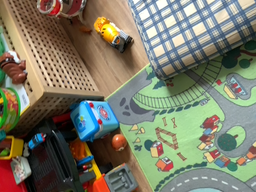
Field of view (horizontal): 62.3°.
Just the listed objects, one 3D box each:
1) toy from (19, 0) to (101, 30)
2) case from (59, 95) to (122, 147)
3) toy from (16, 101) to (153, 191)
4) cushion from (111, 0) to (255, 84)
[{"bbox_3d":[-0.470,-0.700,1.430,0.260,0.480,0.240,-40,69,22],"label":"toy"},{"bbox_3d":[-0.230,0.150,1.320,0.230,0.230,0.210,-40,69,22],"label":"case"},{"bbox_3d":[-0.200,0.490,1.170,0.420,0.380,0.820,-38,70,23],"label":"toy"},{"bbox_3d":[0.270,-0.670,1.110,0.790,0.150,0.960,-27,74,26],"label":"cushion"}]
